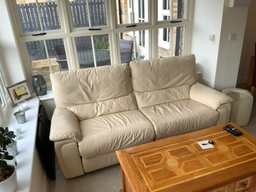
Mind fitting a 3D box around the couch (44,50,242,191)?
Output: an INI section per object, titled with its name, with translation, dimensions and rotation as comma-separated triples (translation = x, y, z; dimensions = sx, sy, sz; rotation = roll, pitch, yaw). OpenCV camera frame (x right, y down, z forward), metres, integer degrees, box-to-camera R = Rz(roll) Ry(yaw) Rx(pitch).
[couch]
translation = 0.130, 0.120, 2.650
dimensions = 2.030, 0.950, 1.040
rotation = -11, 26, -17
